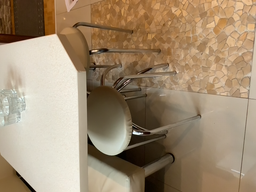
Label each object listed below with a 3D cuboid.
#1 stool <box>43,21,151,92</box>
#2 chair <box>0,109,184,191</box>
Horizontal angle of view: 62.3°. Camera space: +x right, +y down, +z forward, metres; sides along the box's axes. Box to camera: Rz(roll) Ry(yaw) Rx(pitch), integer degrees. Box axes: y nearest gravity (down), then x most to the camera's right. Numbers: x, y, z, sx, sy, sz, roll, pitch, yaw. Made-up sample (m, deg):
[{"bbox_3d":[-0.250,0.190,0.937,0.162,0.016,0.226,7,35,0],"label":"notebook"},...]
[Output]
[{"bbox_3d":[-0.160,-0.220,1.240,0.330,0.520,0.310,9,102,44],"label":"stool"},{"bbox_3d":[-0.490,0.560,1.450,1.420,0.860,0.590,10,103,44],"label":"chair"}]
